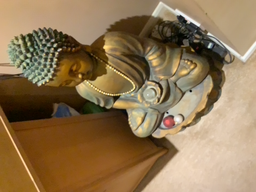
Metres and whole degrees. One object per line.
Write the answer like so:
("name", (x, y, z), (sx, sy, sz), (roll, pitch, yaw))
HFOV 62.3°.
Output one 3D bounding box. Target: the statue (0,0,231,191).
("statue", (0.000, -0.070, 0.970), (0.580, 0.880, 0.440), (47, 115, 25))
